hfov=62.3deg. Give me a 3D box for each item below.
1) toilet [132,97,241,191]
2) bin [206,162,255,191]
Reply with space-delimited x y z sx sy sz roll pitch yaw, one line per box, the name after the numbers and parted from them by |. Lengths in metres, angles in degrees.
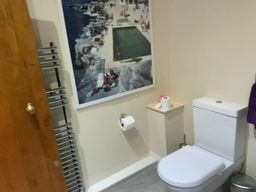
0.460 0.500 1.640 0.670 0.780 0.420 -16 20 -32 | toilet
0.780 0.730 1.620 0.270 0.280 0.230 -16 20 -31 | bin
